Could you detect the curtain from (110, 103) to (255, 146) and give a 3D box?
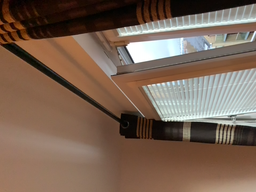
[{"bbox_3d":[0.830,0.240,1.660,0.550,1.850,0.240,47,-137,-67],"label":"curtain"}]
